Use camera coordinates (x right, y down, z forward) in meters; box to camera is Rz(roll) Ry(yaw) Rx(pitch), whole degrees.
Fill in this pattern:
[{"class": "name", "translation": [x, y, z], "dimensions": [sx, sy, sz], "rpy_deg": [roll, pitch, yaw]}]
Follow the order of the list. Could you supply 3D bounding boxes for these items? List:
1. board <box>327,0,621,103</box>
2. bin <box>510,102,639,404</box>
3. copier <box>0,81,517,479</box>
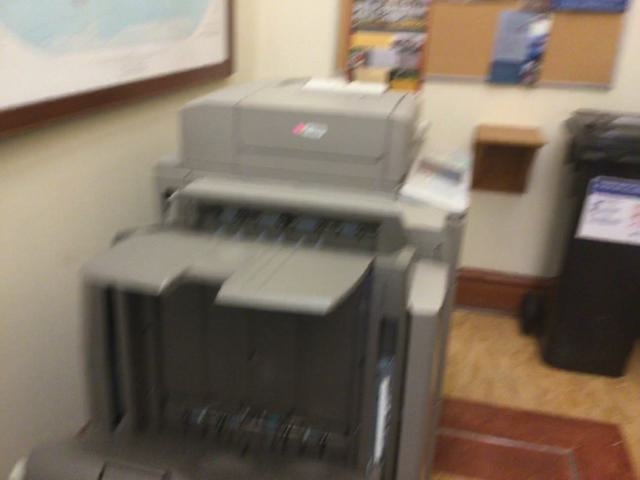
[{"class": "board", "translation": [0.620, -1.060, 2.320], "dimensions": [1.100, 0.860, 0.110], "rpy_deg": [10, 18, 11]}, {"class": "bin", "translation": [1.160, 0.040, 2.300], "dimensions": [0.540, 1.050, 0.450], "rpy_deg": [10, 21, 11]}, {"class": "copier", "translation": [-0.100, 0.270, 1.470], "dimensions": [0.880, 1.260, 1.420], "rpy_deg": [6, 16, 13]}]
